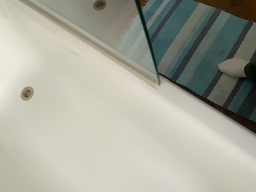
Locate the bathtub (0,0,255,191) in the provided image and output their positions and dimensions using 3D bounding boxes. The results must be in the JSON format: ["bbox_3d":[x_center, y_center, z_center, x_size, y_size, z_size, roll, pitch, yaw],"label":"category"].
[{"bbox_3d":[-0.130,0.220,0.760,1.610,0.500,0.700,36,83,19],"label":"bathtub"}]
